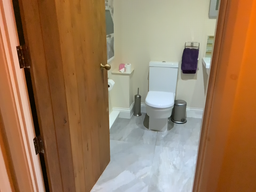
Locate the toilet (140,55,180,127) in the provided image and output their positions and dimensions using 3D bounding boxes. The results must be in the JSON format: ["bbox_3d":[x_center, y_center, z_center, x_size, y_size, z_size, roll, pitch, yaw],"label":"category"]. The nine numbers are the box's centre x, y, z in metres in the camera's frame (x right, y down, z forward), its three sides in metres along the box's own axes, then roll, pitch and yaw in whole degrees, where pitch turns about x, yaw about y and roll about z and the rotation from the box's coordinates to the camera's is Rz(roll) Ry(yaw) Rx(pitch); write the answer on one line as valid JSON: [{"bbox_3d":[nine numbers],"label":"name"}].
[{"bbox_3d":[0.450,-0.100,2.920,0.420,0.780,0.670,6,22,13],"label":"toilet"}]
